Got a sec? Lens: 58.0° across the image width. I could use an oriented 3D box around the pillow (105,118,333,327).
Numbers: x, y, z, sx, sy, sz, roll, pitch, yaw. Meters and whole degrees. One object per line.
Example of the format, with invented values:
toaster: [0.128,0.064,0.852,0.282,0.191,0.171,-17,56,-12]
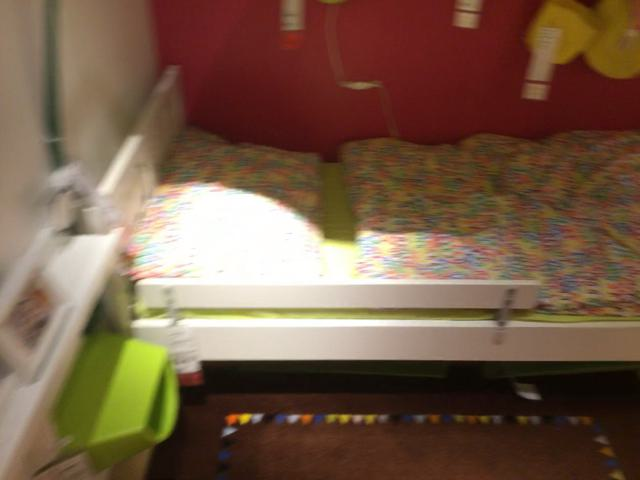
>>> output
pillow: [-0.210,-0.090,1.580,0.440,0.180,0.750,-1,35,6]
